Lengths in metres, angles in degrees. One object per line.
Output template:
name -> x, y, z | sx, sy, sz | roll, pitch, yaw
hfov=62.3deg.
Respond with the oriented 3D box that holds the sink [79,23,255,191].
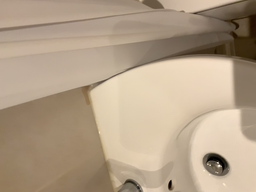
sink -> 0.200, 0.170, 0.430 | 0.470, 0.200, 0.580 | -1, 108, 39
